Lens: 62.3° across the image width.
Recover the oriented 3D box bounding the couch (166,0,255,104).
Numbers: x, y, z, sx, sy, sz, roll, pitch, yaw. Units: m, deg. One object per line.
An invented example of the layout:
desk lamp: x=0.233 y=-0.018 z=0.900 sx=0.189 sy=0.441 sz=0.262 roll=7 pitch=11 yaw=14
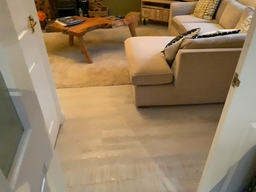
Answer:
couch: x=1.290 y=-0.870 z=2.890 sx=1.020 sy=0.800 sz=2.100 roll=-2 pitch=36 yaw=-3

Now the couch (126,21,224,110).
couch: x=0.410 y=-0.390 z=2.390 sx=0.810 sy=0.610 sz=0.910 roll=-2 pitch=36 yaw=-3

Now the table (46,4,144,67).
table: x=-0.460 y=-1.020 z=3.340 sx=1.250 sy=0.490 sz=0.780 roll=-30 pitch=46 yaw=-35
